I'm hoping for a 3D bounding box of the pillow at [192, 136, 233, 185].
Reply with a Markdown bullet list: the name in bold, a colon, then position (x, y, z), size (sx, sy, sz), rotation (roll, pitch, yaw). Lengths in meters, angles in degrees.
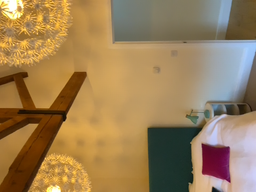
- **pillow**: position (1.110, 0.840, 2.770), size (0.460, 0.390, 0.150), rotation (-46, 24, -17)
